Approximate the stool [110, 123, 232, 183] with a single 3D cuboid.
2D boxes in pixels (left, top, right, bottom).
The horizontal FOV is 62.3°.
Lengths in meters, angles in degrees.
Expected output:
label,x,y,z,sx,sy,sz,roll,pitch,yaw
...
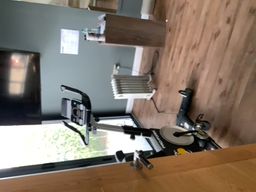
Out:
label,x,y,z,sx,sy,sz,roll,pitch,yaw
stool,0.340,0.410,1.650,0.260,0.900,0.240,-128,43,-55
